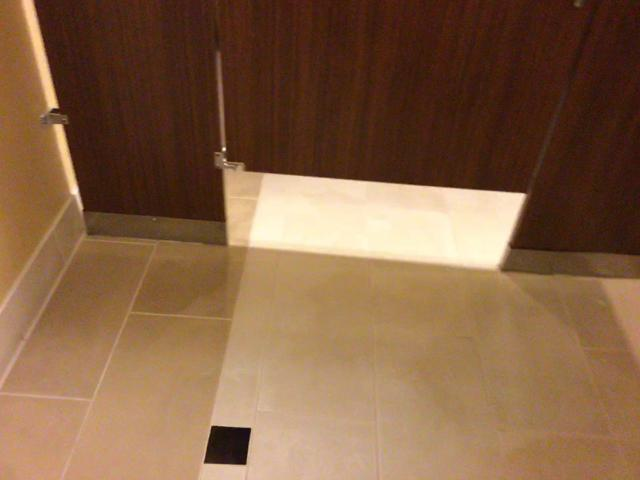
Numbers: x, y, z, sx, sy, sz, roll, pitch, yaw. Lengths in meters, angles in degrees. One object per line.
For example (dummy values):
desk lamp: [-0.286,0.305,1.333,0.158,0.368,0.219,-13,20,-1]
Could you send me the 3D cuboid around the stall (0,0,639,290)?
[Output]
stall: [0.260,-0.510,1.500,2.080,1.410,0.200,4,38,2]
